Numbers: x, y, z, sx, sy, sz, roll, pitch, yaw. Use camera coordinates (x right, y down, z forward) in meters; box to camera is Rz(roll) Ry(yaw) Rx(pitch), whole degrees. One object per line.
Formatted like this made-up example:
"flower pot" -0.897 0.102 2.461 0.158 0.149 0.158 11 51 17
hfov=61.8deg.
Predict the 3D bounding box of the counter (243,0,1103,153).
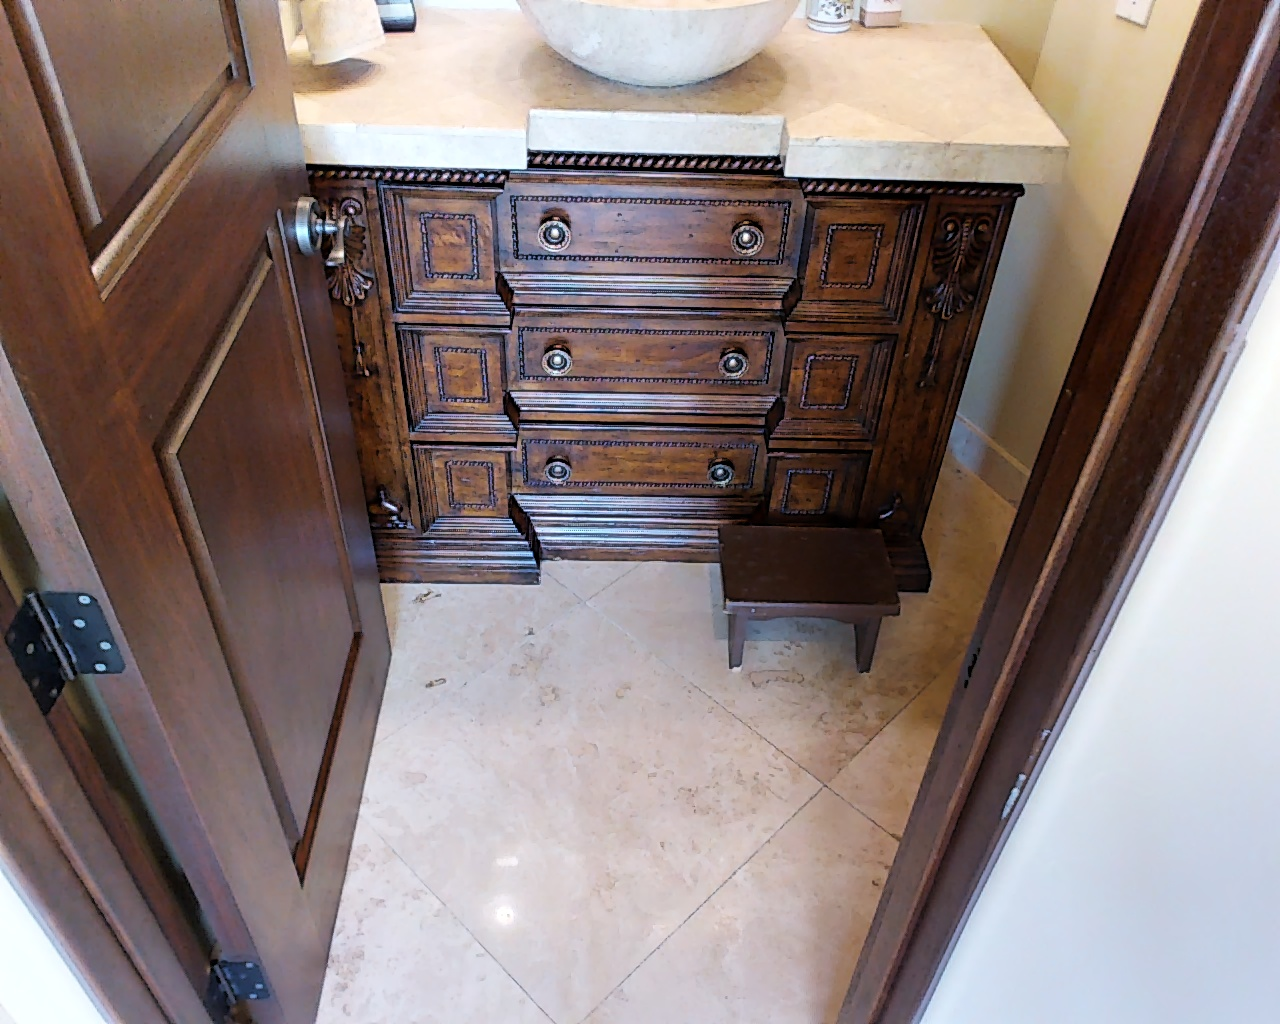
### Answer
"counter" 0.050 -0.750 1.780 1.251 0.040 0.580 0 42 -1
